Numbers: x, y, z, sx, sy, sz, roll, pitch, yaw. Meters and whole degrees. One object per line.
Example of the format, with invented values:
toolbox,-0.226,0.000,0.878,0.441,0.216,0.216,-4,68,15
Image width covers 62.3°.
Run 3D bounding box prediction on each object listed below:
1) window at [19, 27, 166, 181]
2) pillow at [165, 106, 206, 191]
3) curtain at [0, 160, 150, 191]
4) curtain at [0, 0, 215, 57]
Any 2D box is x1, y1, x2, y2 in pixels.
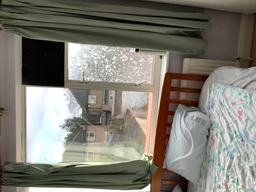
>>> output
window,-0.360,0.140,2.220,0.070,1.430,1.520,-139,52,-78
pillow,0.510,0.460,1.950,0.430,0.140,0.670,-143,56,-78
curtain,-0.500,0.780,2.060,0.140,1.410,0.260,-139,52,-78
curtain,-0.160,-0.610,1.900,0.160,1.910,0.380,-135,48,-77
